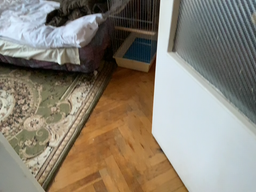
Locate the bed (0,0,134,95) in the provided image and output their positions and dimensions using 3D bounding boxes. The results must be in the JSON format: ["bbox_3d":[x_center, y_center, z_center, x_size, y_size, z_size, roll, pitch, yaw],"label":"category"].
[{"bbox_3d":[-1.050,-0.770,2.160,1.960,0.420,1.310,10,46,12],"label":"bed"}]
